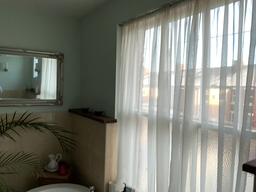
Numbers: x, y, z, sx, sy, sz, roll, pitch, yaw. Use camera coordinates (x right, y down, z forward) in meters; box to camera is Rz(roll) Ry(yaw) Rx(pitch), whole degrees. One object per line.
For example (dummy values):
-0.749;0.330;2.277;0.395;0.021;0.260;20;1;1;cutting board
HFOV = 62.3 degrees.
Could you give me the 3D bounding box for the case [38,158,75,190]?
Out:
-0.860;0.920;2.550;0.340;0.180;0.360;-1;4;-33;case
